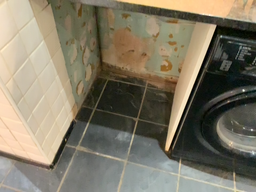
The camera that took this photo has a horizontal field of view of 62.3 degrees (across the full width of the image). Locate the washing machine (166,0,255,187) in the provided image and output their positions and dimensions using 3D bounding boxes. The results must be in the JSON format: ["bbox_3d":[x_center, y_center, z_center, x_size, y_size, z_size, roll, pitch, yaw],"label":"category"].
[{"bbox_3d":[0.620,-0.080,1.090,0.600,0.900,0.700,12,50,8],"label":"washing machine"}]
